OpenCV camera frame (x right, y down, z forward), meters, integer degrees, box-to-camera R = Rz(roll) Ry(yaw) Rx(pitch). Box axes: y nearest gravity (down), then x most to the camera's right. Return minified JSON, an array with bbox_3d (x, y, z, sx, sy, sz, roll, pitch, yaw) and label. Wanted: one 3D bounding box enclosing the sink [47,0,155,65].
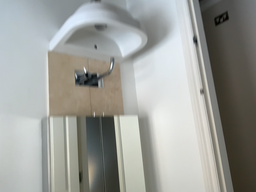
[{"bbox_3d":[-0.170,-0.400,1.300,0.490,0.230,0.430,4,166,-40],"label":"sink"}]
